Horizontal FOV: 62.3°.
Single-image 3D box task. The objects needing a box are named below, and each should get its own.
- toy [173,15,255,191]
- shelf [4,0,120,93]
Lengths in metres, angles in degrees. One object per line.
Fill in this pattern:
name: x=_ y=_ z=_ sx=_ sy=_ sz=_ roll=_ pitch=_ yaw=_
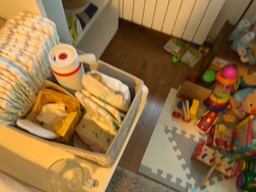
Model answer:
toy: x=0.690 y=0.170 z=1.200 sx=0.510 sy=0.530 sz=1.070 roll=21 pitch=63 yaw=7
shelf: x=-0.310 y=-0.630 z=1.160 sx=0.310 sy=1.220 sz=0.660 roll=22 pitch=63 yaw=8
